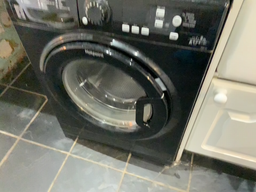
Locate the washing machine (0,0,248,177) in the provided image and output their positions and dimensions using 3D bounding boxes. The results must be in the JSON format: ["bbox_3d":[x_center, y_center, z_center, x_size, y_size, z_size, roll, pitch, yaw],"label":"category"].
[{"bbox_3d":[0.020,-0.220,0.950,0.610,0.880,0.700,13,52,12],"label":"washing machine"}]
